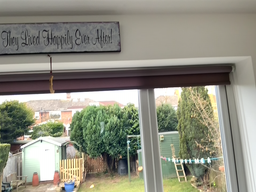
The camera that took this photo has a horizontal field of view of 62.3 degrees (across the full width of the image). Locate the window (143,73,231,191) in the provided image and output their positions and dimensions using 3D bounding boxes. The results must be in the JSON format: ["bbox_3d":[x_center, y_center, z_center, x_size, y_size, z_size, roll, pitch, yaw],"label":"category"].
[{"bbox_3d":[0.390,0.380,1.440,0.470,1.030,0.200,-3,-8,-7],"label":"window"}]

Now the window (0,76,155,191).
[{"bbox_3d":[-0.410,0.400,1.330,1.100,0.990,0.180,-3,-8,-7],"label":"window"}]
